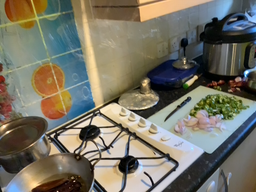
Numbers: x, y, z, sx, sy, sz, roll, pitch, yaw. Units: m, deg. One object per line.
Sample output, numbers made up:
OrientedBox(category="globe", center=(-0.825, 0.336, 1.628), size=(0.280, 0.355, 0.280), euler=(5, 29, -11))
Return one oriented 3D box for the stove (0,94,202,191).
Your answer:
OrientedBox(category="stove", center=(-0.140, 0.200, 0.740), size=(0.590, 0.040, 0.520), euler=(-29, 34, -33))
